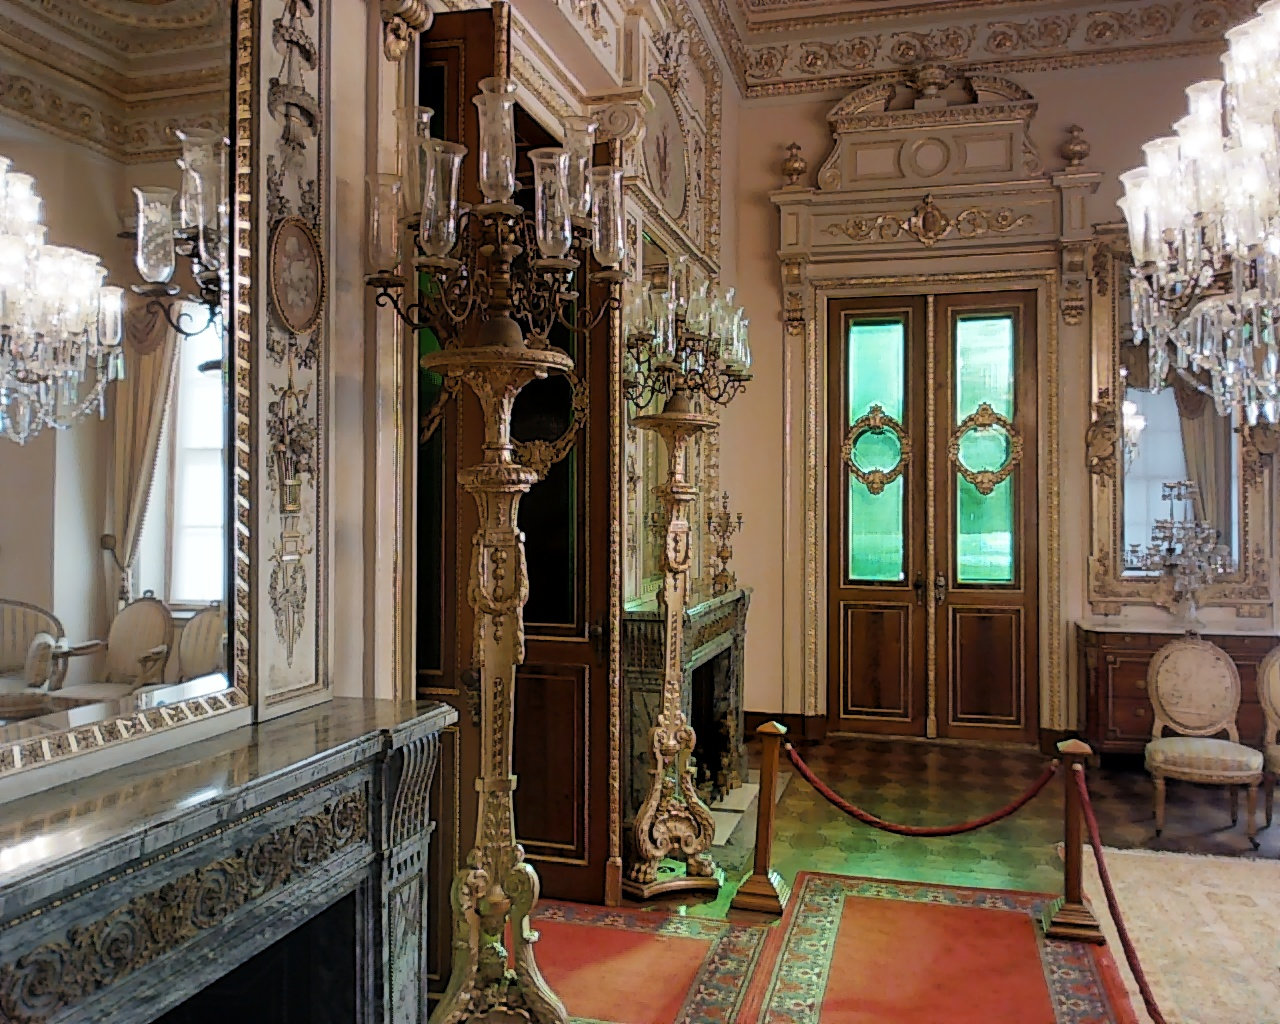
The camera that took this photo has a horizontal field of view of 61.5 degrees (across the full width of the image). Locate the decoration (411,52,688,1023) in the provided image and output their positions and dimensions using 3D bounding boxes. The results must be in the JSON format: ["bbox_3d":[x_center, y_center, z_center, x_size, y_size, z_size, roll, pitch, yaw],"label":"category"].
[{"bbox_3d":[-0.210,0.330,2.980,0.510,2.831,0.780,0,-1,17],"label":"decoration"}]

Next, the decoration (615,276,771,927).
[{"bbox_3d":[0.260,0.380,4.950,0.600,2.771,0.600,0,-1,15],"label":"decoration"}]
